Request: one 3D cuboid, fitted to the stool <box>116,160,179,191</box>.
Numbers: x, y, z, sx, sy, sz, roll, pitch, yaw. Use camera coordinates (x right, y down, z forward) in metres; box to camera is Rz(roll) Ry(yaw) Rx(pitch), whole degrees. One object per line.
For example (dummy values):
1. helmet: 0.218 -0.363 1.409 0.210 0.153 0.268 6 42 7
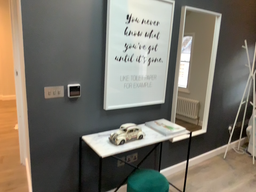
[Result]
1. stool: 0.160 0.910 1.910 0.390 0.440 0.390 -6 15 -32
